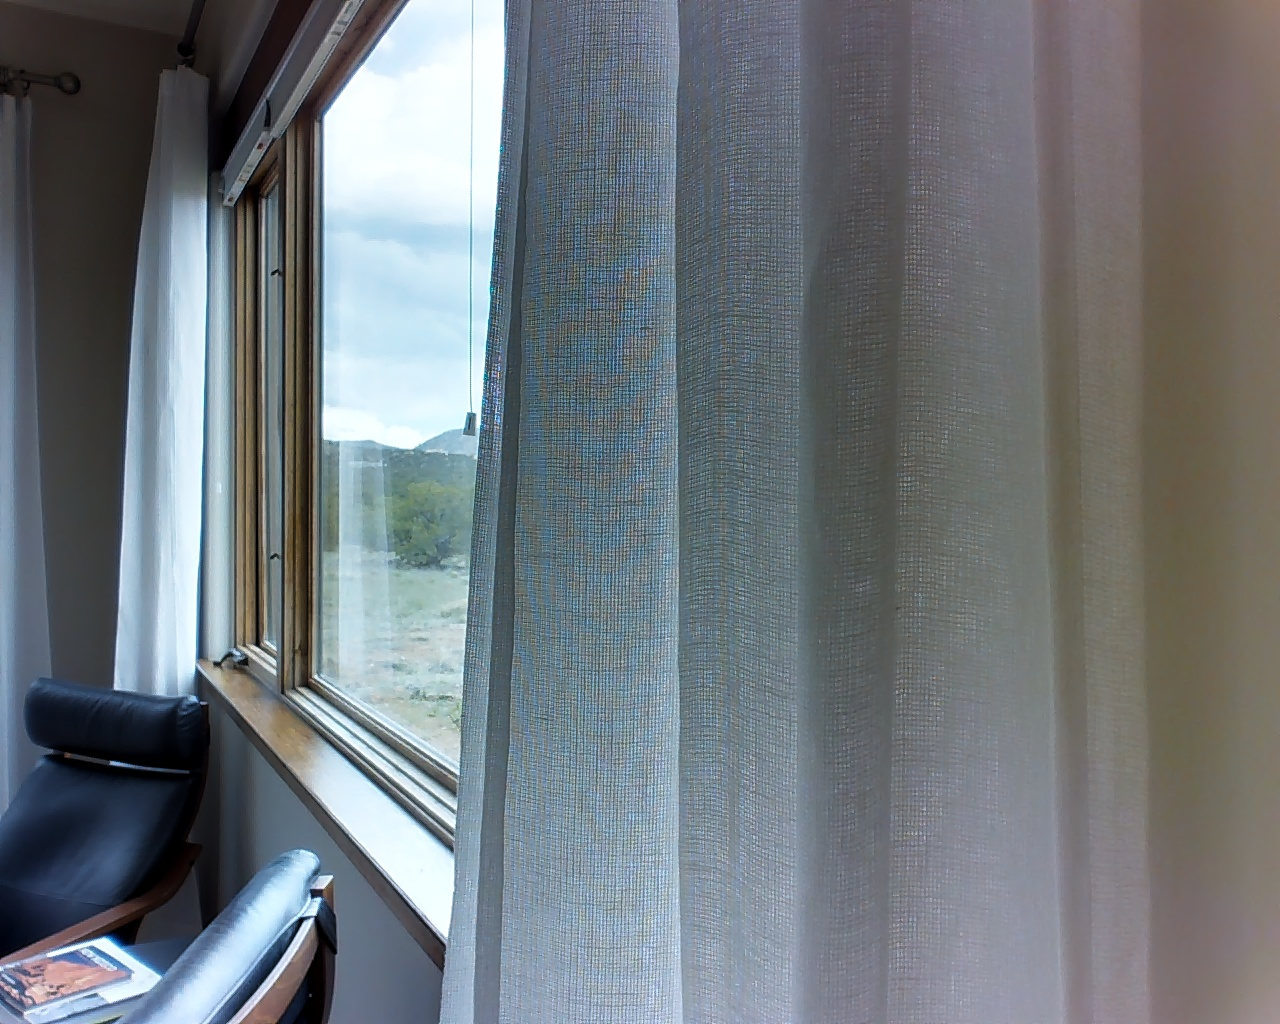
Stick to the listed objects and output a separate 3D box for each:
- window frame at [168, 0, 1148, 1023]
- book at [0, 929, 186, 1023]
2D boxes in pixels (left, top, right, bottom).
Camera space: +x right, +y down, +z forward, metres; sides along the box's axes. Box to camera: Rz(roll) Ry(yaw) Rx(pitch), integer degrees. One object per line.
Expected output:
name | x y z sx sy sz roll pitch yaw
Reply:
window frame | -0.530 -0.380 1.930 0.310 1.790 3.000 1 -1 -29
book | -1.030 0.860 1.920 0.360 0.060 0.270 0 -1 42
